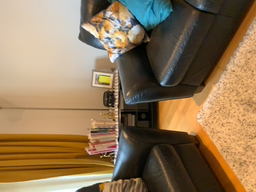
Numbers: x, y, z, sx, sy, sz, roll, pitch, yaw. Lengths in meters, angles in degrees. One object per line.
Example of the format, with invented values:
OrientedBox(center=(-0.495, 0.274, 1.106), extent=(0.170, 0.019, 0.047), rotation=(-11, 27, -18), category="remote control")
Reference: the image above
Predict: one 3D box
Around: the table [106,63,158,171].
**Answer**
OrientedBox(center=(0.030, 0.230, 2.480), extent=(0.370, 0.480, 1.120), rotation=(161, 108, -68), category="table")

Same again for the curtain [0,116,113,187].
OrientedBox(center=(-1.070, 0.540, 2.190), extent=(0.670, 1.730, 0.210), rotation=(-109, 29, -41), category="curtain")

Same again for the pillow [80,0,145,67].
OrientedBox(center=(-0.150, -0.520, 1.740), extent=(0.250, 0.400, 0.470), rotation=(-114, 32, -47), category="pillow")
